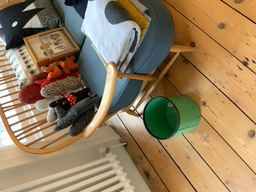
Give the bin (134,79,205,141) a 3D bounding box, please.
[{"bbox_3d":[0.230,0.070,1.210,0.240,0.220,0.230,51,125,29],"label":"bin"}]
